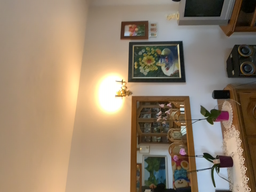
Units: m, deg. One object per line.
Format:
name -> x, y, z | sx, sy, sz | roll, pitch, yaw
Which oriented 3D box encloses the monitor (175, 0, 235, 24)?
monitor -> 0.890, -1.260, 2.450 | 0.460, 0.570, 0.680 | -86, -6, -47
